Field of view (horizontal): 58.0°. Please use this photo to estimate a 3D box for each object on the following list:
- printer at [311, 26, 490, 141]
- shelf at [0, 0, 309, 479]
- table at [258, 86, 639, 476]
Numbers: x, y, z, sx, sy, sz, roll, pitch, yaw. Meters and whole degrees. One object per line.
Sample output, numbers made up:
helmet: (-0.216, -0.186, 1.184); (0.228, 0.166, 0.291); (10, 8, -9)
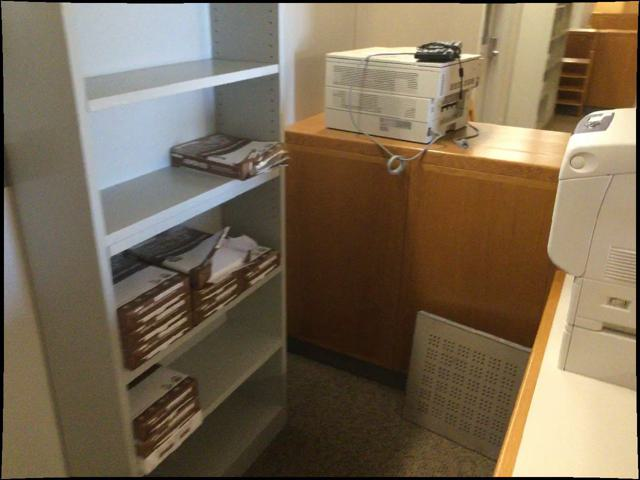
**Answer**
printer: (0.309, -0.621, 2.210); (0.539, 0.311, 0.450); (13, 29, 25)
shelf: (-0.419, -0.110, 1.610); (0.409, 1.934, 0.840); (13, 29, 25)
table: (0.609, 0.050, 2.310); (1.537, 1.062, 0.680); (13, 29, 25)
